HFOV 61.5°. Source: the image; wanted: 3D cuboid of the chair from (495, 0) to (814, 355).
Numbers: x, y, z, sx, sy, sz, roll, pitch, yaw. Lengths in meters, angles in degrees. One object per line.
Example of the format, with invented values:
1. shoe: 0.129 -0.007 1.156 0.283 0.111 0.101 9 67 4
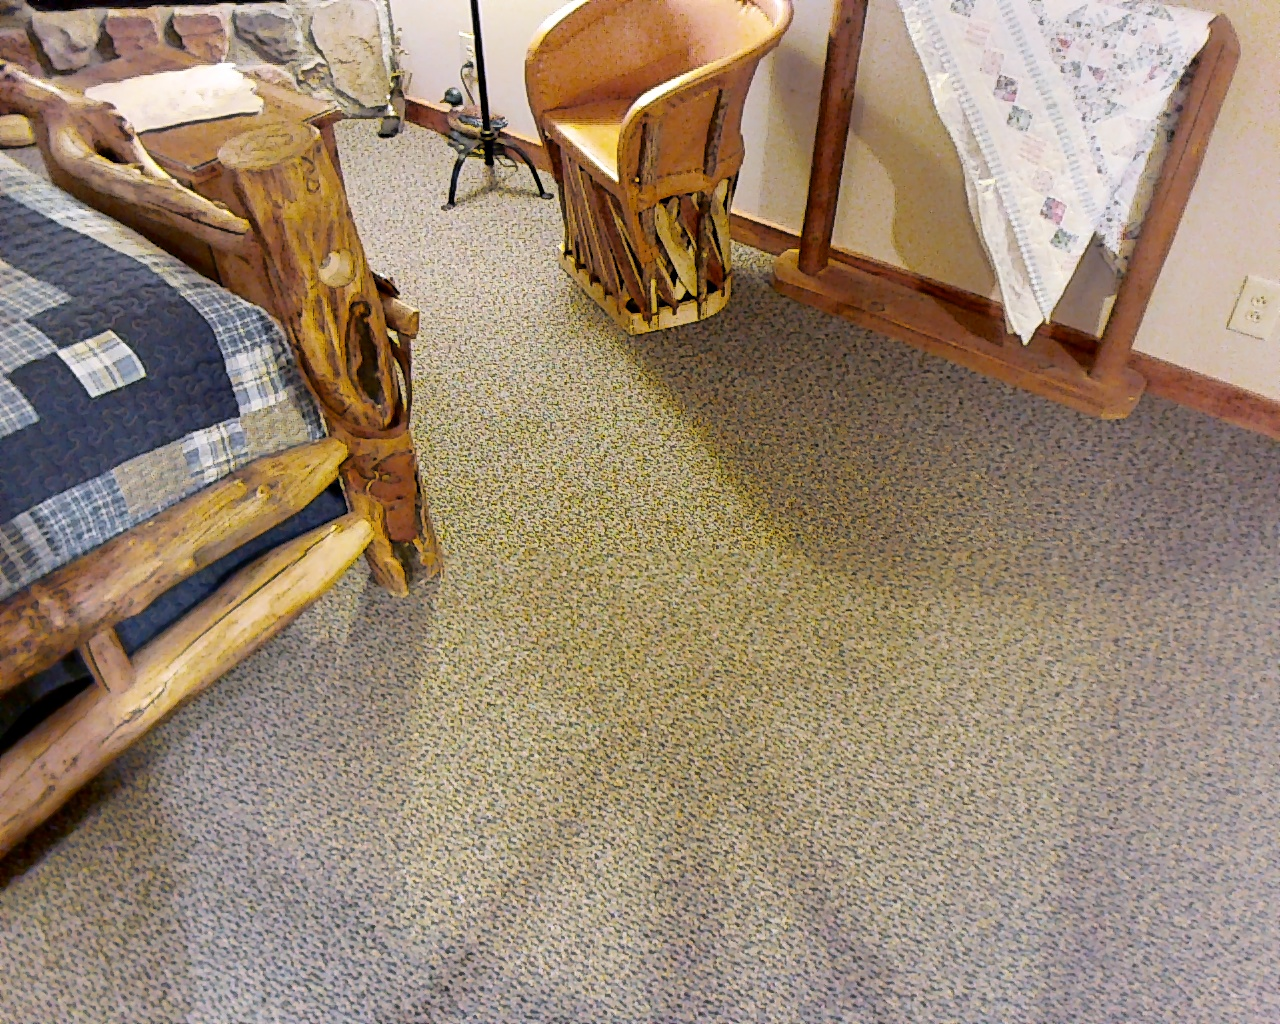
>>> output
1. chair: 0.010 -0.950 2.820 0.530 0.730 0.650 -18 46 -19
